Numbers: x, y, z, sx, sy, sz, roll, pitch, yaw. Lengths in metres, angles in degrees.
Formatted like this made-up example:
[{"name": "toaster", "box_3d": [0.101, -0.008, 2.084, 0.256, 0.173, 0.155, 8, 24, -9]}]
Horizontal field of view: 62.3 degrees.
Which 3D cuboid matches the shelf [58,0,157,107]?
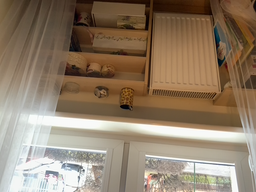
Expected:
[{"name": "shelf", "box_3d": [-0.100, -0.370, 1.520, 0.560, 0.810, 0.250, 5, 155, 1]}]
